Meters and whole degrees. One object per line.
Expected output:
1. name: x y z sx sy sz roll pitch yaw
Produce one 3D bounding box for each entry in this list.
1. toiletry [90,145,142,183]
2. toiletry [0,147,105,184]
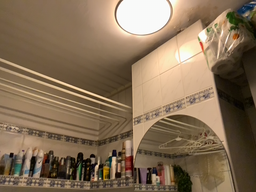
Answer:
1. toiletry: -0.100 0.510 1.560 0.150 0.200 0.410 21 -34 -37
2. toiletry: -0.660 0.460 1.400 1.190 0.170 0.070 21 -34 -37
